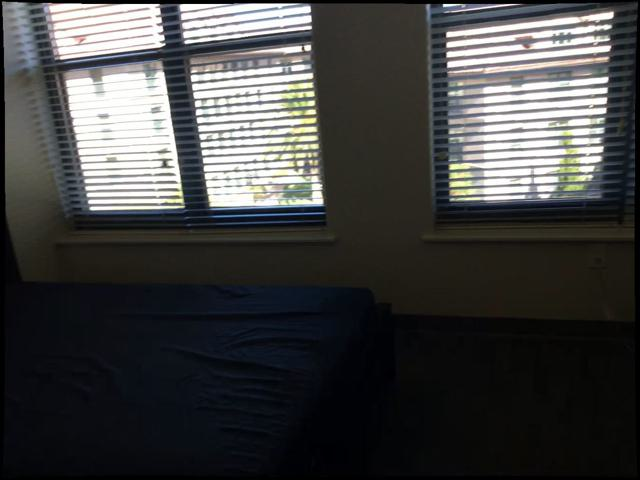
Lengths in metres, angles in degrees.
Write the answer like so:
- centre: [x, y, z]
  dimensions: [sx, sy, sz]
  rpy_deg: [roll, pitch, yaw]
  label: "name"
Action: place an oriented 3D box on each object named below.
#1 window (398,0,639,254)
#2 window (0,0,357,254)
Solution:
- centre: [1.279, -0.701, 2.420]
  dimensions: [1.778, 1.431, 0.470]
  rpy_deg: [-1, 20, 18]
  label: "window"
- centre: [-0.769, -0.641, 3.150]
  dimensions: [1.768, 1.371, 0.380]
  rpy_deg: [-1, 20, 18]
  label: "window"
